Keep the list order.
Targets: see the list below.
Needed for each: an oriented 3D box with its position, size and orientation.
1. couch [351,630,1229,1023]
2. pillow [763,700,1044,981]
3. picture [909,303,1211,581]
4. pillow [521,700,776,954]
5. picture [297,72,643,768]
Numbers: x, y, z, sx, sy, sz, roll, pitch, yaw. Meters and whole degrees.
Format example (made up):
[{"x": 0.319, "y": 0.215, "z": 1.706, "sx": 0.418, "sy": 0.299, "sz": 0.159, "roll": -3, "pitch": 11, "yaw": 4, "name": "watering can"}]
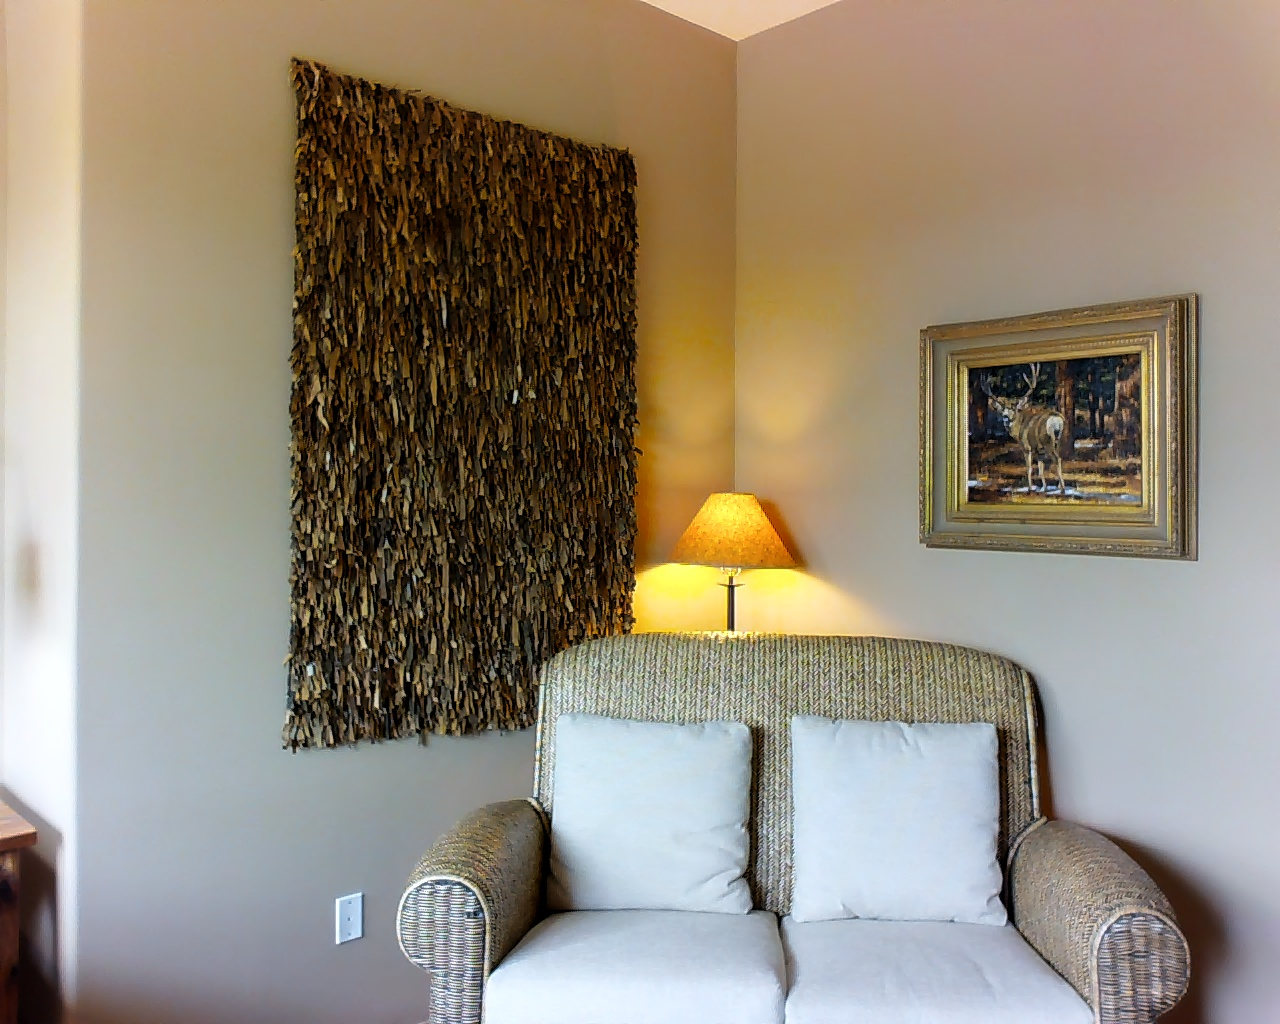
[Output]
[{"x": 0.300, "y": 0.880, "z": 2.550, "sx": 1.650, "sy": 1.050, "sz": 1.030, "roll": 0, "pitch": 0, "yaw": 6, "name": "couch"}, {"x": 0.640, "y": 0.790, "z": 2.620, "sx": 0.550, "sy": 0.500, "sz": 0.160, "roll": 16, "pitch": -15, "yaw": 4, "name": "pillow"}, {"x": 1.090, "y": -0.170, "z": 2.870, "sx": 0.100, "sy": 0.660, "sz": 0.780, "roll": 0, "pitch": 1, "yaw": -43, "name": "picture"}, {"x": 0.030, "y": 0.780, "z": 2.700, "sx": 0.530, "sy": 0.490, "sz": 0.190, "roll": 11, "pitch": -13, "yaw": 8, "name": "pillow"}, {"x": -0.420, "y": -0.220, "z": 2.980, "sx": 1.080, "sy": 1.680, "sz": 0.070, "roll": 0, "pitch": 1, "yaw": -42, "name": "picture"}]
